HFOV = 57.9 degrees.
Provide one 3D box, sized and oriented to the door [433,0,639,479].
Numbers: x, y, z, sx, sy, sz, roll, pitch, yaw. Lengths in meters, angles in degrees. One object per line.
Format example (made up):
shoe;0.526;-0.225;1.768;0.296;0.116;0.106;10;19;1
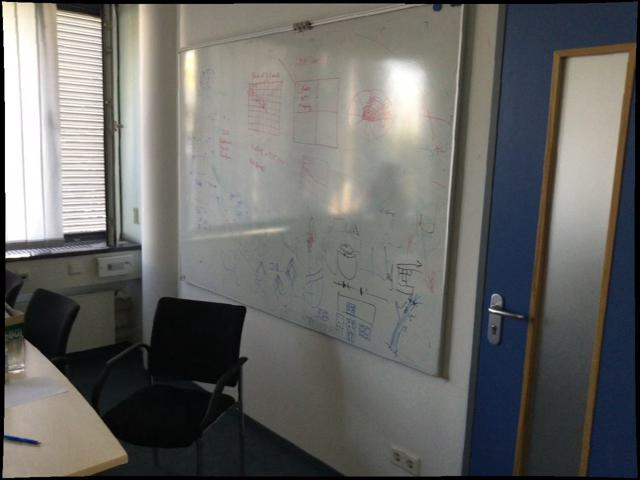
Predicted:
door;0.839;0.220;1.740;0.140;2.002;1.070;-10;15;-39

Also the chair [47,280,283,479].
chair;-0.609;0.631;2.500;0.679;0.701;0.700;4;12;18

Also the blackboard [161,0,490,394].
blackboard;-0.180;-0.330;2.800;0.190;1.461;2.109;-10;15;-39
